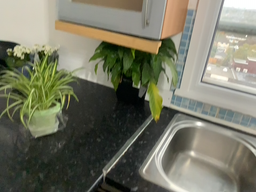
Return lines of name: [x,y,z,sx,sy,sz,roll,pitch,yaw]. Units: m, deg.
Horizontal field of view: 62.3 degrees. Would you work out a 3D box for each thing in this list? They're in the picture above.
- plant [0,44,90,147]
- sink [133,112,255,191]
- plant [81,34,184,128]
plant: [-0.370,-0.030,0.860,0.310,0.260,0.280,17,27,21]
sink: [0.300,0.320,0.870,0.380,0.210,0.510,18,28,22]
plant: [0.010,-0.100,1.060,0.420,0.320,0.240,18,28,23]
